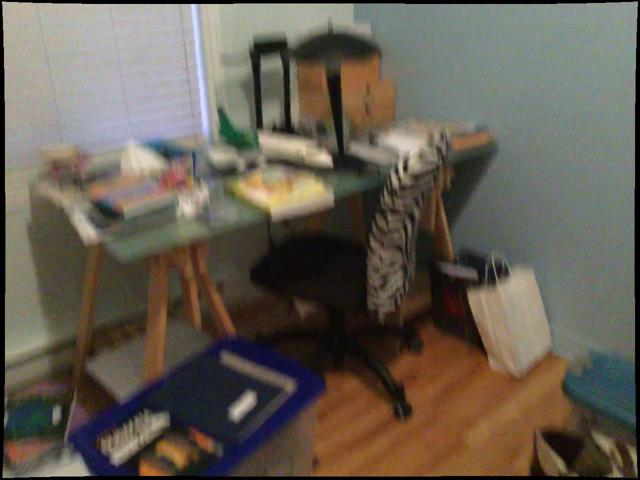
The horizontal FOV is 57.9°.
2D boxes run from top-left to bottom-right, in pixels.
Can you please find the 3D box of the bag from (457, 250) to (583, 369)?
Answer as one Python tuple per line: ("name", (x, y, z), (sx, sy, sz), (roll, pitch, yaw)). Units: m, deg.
("bag", (0.729, 0.260, 2.140), (0.270, 0.400, 0.150), (-21, 58, -34))
